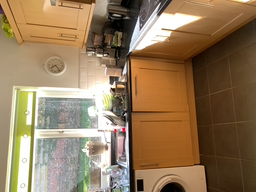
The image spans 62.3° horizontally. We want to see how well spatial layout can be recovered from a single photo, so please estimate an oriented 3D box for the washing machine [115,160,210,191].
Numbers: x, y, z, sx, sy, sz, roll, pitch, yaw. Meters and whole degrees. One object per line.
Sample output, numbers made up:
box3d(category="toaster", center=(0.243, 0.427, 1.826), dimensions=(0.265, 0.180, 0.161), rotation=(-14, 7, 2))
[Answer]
box3d(category="washing machine", center=(0.360, 1.120, 2.470), dimensions=(0.670, 0.890, 0.620), rotation=(148, 122, -69))
